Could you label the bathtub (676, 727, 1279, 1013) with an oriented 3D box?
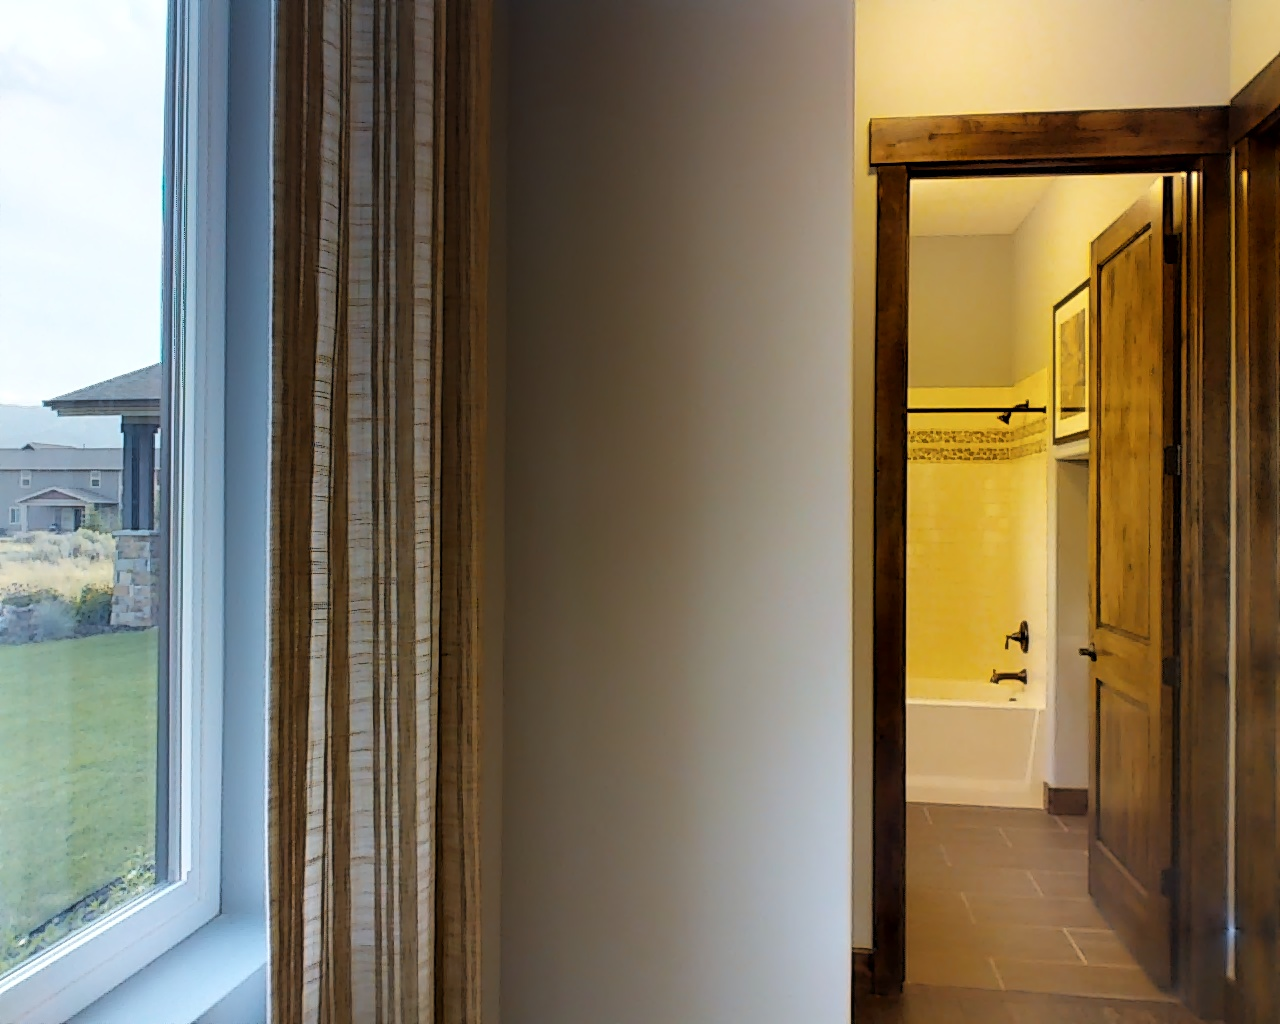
[{"bbox_3d":[1.070,1.140,3.630,1.810,0.580,0.910,1,0,7],"label":"bathtub"}]
